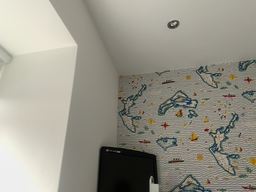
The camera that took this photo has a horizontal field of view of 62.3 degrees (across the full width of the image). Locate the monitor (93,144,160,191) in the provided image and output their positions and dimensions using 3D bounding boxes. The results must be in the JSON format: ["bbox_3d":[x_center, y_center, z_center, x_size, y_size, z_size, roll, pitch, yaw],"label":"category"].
[{"bbox_3d":[0.010,0.540,1.400,0.500,0.370,0.040,18,-31,-32],"label":"monitor"}]
